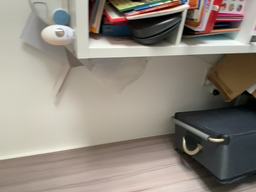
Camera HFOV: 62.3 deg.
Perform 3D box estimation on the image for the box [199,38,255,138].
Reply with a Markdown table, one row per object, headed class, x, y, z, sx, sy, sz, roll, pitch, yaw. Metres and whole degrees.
| class | x | y | z | sx | sy | sz | roll | pitch | yaw |
| --- | --- | --- | --- | --- | --- | --- | --- | --- | --- |
| box | 0.880 | -0.090 | 1.390 | 0.460 | 0.520 | 0.460 | -124 | 34 | -55 |
